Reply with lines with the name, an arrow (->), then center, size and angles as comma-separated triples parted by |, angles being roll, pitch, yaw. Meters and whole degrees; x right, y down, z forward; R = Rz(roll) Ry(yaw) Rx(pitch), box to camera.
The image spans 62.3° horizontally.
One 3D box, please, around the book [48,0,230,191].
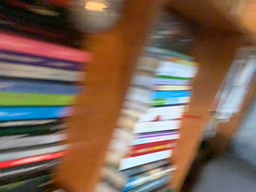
book -> 0.000, 0.020, 0.750 | 0.370, 0.270, 0.650 | 30, 108, 36
